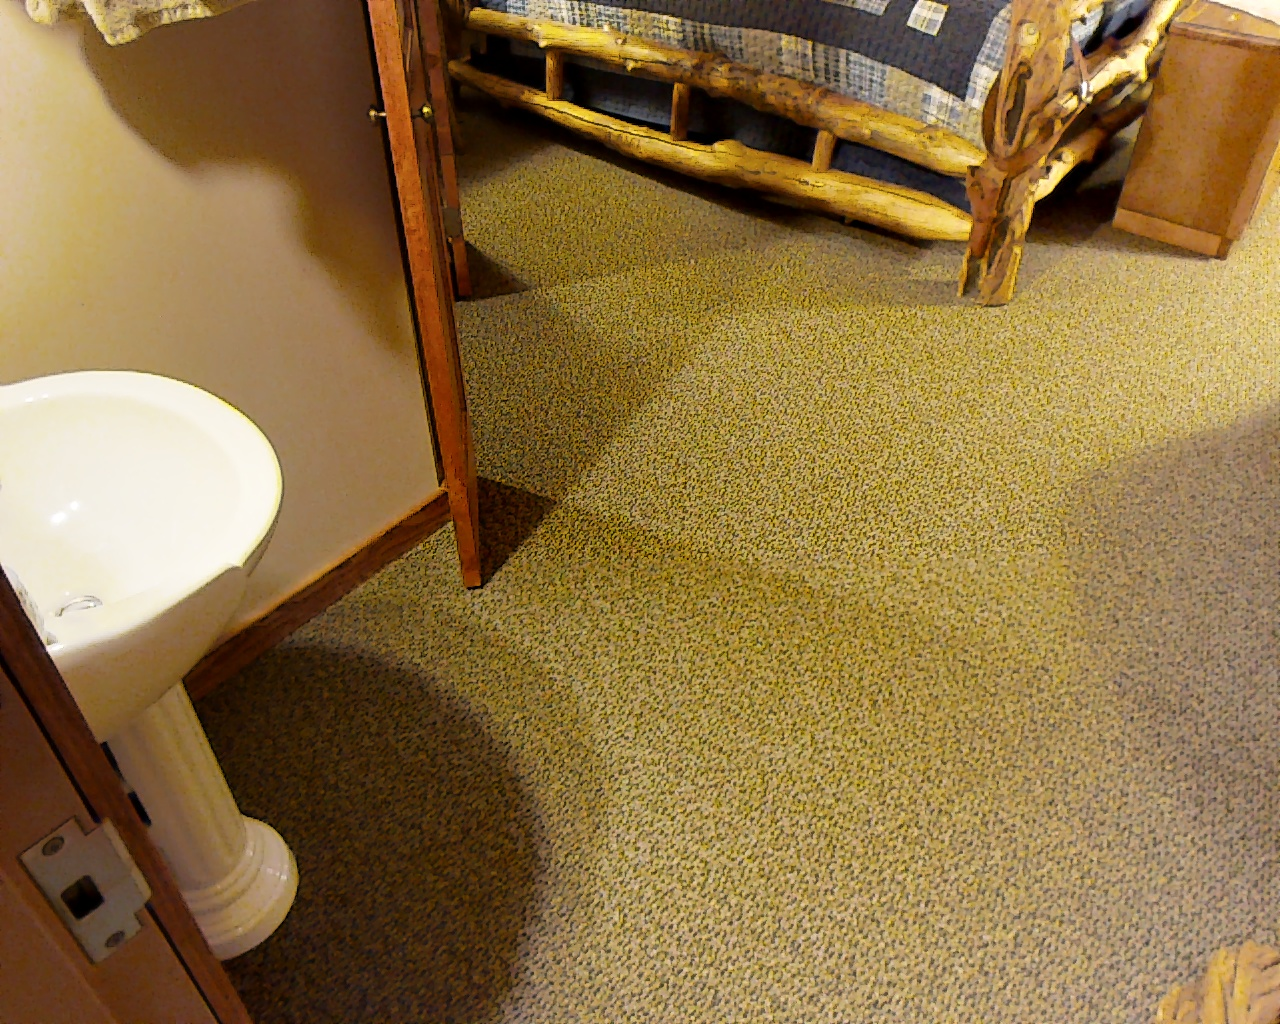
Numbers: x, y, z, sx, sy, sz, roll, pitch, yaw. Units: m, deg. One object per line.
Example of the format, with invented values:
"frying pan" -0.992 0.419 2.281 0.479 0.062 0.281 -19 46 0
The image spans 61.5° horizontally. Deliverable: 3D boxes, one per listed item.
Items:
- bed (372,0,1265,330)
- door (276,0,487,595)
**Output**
"bed" 0.650 -2.050 3.660 2.500 1.360 2.010 28 49 27
"door" -0.420 -0.870 1.570 0.180 2.370 0.450 -4 42 -5
